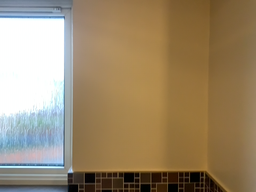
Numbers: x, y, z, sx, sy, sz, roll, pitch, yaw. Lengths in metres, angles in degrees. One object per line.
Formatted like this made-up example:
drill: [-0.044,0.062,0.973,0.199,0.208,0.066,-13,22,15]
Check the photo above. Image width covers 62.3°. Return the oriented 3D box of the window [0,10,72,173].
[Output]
window: [-0.550,-0.020,1.190,0.440,0.870,0.110,0,2,-1]
